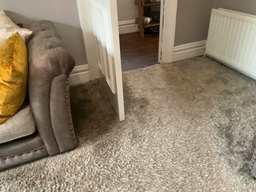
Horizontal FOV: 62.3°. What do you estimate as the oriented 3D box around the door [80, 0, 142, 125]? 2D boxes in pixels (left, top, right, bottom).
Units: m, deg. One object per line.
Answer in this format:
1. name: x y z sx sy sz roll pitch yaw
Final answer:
1. door: -0.200 -0.940 1.510 0.230 2.130 1.000 -12 34 -15
